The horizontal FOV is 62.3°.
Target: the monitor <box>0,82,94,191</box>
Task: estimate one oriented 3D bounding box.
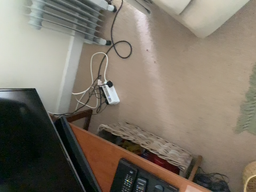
[{"bbox_3d":[-0.430,0.340,0.970,0.060,0.500,0.940,-36,76,22],"label":"monitor"}]
